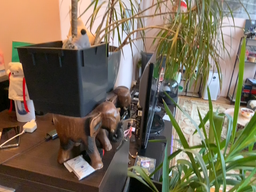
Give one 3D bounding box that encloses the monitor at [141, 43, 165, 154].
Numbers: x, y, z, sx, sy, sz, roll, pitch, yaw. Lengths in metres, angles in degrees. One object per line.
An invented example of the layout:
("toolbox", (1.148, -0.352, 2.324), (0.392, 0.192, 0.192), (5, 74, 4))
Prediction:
("monitor", (0.240, -0.070, 1.890), (0.040, 0.670, 1.020), (8, 22, 9))
